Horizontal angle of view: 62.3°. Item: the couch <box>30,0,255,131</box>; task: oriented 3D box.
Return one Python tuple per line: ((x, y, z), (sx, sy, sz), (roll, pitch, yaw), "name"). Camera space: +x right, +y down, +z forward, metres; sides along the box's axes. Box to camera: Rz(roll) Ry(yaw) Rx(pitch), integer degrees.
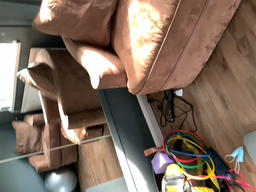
((0.010, -0.530, 1.240), (0.890, 0.890, 0.950), (51, 135, 38), "couch")
